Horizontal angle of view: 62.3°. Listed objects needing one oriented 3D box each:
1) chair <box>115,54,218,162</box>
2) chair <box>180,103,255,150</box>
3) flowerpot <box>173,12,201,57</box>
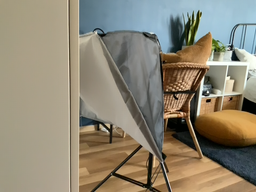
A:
[{"bbox_3d":[0.270,0.040,1.890,0.580,0.750,0.690,-1,13,-18],"label":"chair"},{"bbox_3d":[1.050,0.280,2.230,0.760,0.220,0.580,-3,14,-27],"label":"chair"},{"bbox_3d":[0.690,-0.710,2.490,0.220,0.480,0.160,-4,15,-28],"label":"flowerpot"}]
